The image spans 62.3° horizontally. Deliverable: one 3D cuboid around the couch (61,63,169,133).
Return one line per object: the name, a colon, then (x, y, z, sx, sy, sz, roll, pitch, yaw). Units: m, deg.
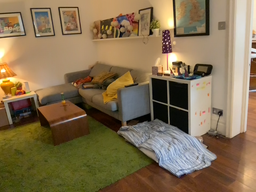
couch: (-0.420, -0.140, 4.140, 0.920, 0.680, 2.440, -16, 20, -31)

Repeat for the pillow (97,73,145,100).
pillow: (-0.110, -0.180, 3.520, 0.630, 0.260, 0.450, -17, 21, -33)
